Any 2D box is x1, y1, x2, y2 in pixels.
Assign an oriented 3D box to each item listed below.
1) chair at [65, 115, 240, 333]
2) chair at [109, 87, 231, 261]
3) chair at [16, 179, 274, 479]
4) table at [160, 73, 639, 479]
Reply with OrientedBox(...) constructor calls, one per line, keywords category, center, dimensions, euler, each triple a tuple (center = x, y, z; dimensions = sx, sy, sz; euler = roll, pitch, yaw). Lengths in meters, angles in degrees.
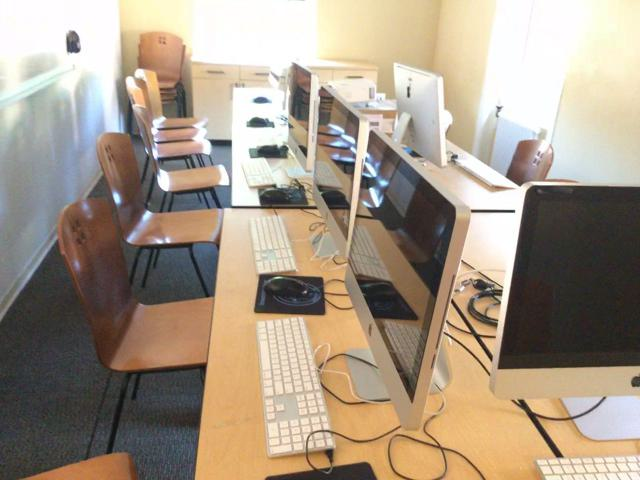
OrientedBox(category="chair", center=(-0.670, -0.090, 2.520), dimensions=(0.580, 0.770, 0.590), euler=(2, 22, -4))
OrientedBox(category="chair", center=(-0.770, -0.360, 3.110), dimensions=(0.560, 0.820, 0.480), euler=(0, 22, -10))
OrientedBox(category="chair", center=(-0.470, 0.260, 1.750), dimensions=(0.590, 0.760, 0.520), euler=(0, 22, -10))
OrientedBox(category="table", center=(0.120, -0.060, 2.720), dimensions=(1.310, 0.860, 4.210), euler=(0, 22, -10))
